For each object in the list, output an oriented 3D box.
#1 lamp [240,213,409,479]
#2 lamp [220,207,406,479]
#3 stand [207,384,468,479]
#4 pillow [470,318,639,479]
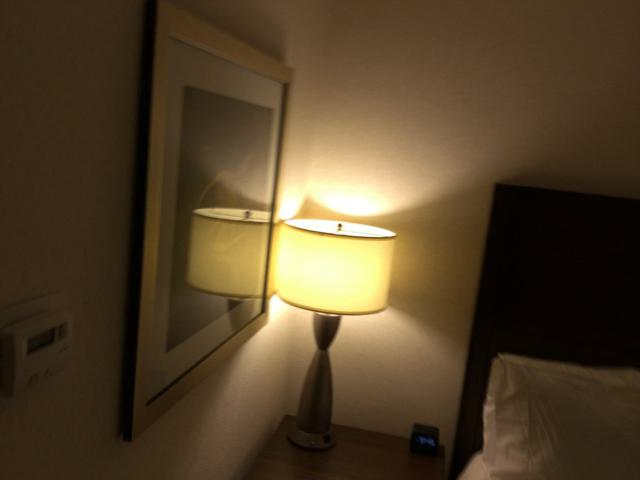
[{"bbox_3d":[0.030,0.340,1.970,0.380,0.800,0.450,8,8,17],"label":"lamp"},{"bbox_3d":[-0.010,0.320,2.010,0.450,0.800,0.450,8,8,17],"label":"lamp"},{"bbox_3d":[0.070,0.960,1.950,0.720,0.630,0.590,8,8,17],"label":"stand"},{"bbox_3d":[0.910,0.540,1.690,0.850,0.390,0.440,8,8,17],"label":"pillow"}]
